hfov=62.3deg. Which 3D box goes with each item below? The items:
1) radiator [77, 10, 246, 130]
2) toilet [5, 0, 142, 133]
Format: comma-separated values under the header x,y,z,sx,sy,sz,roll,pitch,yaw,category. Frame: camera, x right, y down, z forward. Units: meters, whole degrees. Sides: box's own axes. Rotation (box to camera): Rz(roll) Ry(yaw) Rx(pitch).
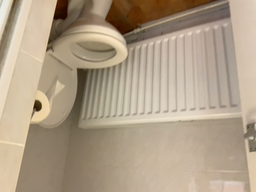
x,y,z,sx,sy,sz,roll,pitch,yaw,category
0.160,-0.130,1.410,1.020,0.680,0.120,-5,158,24,radiator
-0.300,-0.240,1.360,0.630,0.870,0.390,-7,157,28,toilet
